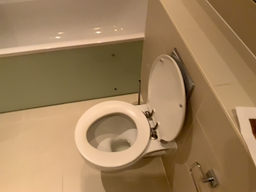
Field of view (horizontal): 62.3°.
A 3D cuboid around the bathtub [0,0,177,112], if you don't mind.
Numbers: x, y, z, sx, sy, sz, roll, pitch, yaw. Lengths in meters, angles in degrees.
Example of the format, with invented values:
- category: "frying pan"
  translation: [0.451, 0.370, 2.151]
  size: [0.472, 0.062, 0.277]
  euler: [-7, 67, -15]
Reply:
- category: "bathtub"
  translation: [-0.590, -0.390, 1.660]
  size: [1.690, 0.580, 0.690]
  euler: [-9, 53, -7]
